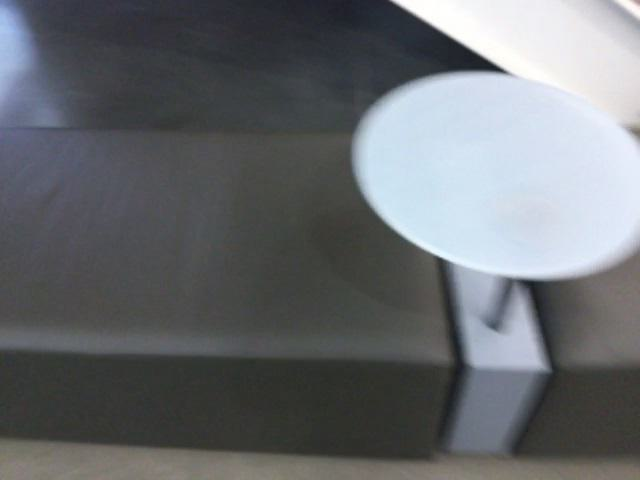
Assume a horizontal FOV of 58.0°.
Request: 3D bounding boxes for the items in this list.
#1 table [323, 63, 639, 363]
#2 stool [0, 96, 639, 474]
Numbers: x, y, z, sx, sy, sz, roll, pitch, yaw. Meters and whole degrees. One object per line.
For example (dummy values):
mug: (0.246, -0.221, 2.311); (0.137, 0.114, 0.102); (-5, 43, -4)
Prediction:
table: (0.270, -0.060, 0.890); (0.500, 0.210, 0.420); (2, 48, 4)
stool: (-0.280, 0.080, 1.200); (3.470, 0.460, 0.610); (0, 48, 2)
